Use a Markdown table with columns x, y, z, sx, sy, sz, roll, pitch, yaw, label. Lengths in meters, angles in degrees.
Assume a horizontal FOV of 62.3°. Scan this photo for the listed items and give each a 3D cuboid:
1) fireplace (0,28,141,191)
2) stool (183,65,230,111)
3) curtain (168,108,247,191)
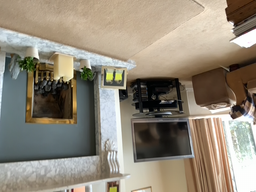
| x | y | z | sx | sy | sz | roll | pitch | yaw | label |
| --- | --- | --- | --- | --- | --- | --- | --- | --- | --- |
| -0.740 | 0.220 | 2.000 | 1.610 | 1.240 | 0.660 | 8 | 161 | -41 | fireplace |
| 1.130 | -0.090 | 3.060 | 0.450 | 0.490 | 0.500 | -14 | 163 | 33 | stool |
| 1.220 | 1.220 | 3.280 | 0.870 | 1.920 | 0.520 | -5 | 166 | -1 | curtain |
